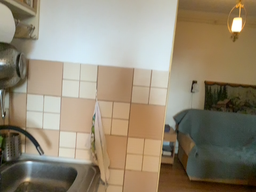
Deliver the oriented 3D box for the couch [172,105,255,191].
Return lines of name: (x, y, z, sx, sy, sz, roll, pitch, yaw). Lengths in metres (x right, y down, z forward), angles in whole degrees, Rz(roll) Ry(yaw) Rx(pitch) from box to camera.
couch: (1.850, 0.780, 3.230, 2.070, 0.910, 1.050, 6, 7, 0)
